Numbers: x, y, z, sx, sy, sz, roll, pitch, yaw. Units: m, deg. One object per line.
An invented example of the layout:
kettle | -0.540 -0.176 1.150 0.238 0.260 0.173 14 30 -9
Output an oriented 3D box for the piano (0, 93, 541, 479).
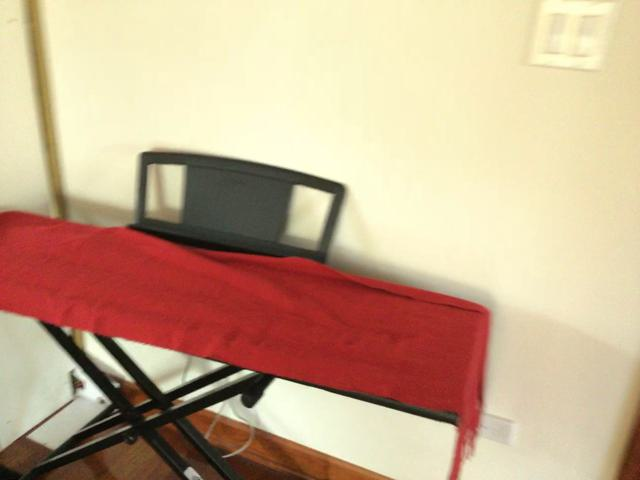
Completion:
piano | -0.300 0.280 1.350 1.310 0.910 0.460 16 28 16
